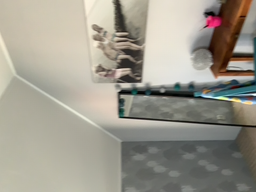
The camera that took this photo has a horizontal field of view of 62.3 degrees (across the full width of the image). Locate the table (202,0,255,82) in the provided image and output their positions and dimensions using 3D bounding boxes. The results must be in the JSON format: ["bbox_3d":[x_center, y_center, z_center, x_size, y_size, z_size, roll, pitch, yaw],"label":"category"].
[{"bbox_3d":[1.110,-0.540,1.710,0.290,0.730,0.850,-92,3,-48],"label":"table"}]
